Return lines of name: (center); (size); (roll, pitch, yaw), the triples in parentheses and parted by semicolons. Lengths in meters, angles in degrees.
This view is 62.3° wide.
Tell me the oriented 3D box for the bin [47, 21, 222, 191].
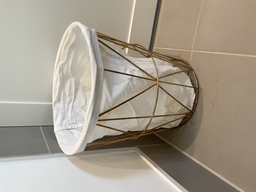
bin: (-0.010, 0.000, 0.440); (0.230, 0.240, 0.240); (28, 111, 56)
